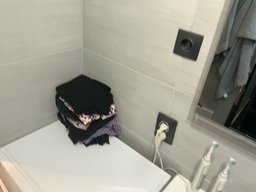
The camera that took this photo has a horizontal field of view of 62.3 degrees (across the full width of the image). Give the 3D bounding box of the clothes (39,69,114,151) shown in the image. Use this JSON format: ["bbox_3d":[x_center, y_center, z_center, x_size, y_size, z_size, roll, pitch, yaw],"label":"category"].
[{"bbox_3d":[-0.230,0.050,0.970,0.200,0.240,0.240,27,36,28],"label":"clothes"}]
